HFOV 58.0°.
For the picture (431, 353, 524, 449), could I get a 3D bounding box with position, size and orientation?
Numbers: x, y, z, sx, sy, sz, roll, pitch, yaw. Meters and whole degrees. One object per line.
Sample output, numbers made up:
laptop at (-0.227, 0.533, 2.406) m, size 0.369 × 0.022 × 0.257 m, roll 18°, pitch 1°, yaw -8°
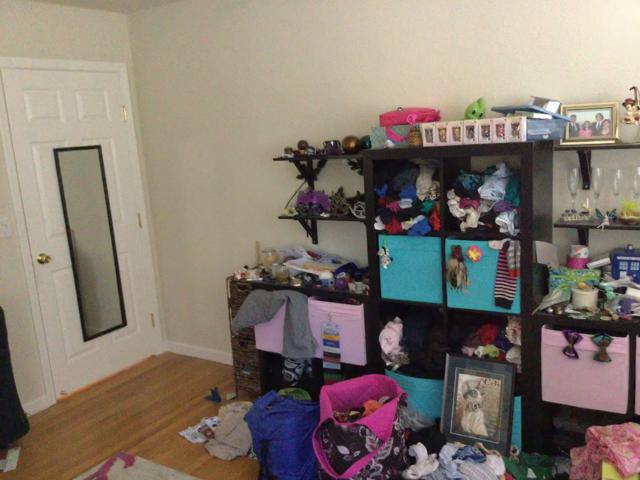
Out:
picture at (0.700, 0.710, 2.580) m, size 0.350 × 0.340 × 0.090 m, roll 4°, pitch -11°, yaw 35°
